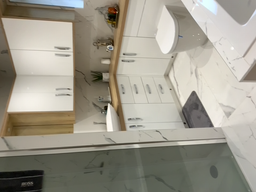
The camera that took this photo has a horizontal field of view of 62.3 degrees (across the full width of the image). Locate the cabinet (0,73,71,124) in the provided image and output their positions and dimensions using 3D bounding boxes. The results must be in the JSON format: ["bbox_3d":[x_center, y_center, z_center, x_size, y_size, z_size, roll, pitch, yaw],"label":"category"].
[{"bbox_3d":[-1.130,0.020,2.690,0.250,0.770,0.610,105,159,-46],"label":"cabinet"}]

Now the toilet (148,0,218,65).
[{"bbox_3d":[0.540,-0.670,2.260,0.410,0.460,0.540,105,159,-46],"label":"toilet"}]

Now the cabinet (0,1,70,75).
[{"bbox_3d":[-1.110,-0.660,2.590,0.810,0.750,0.270,105,159,-46],"label":"cabinet"}]
